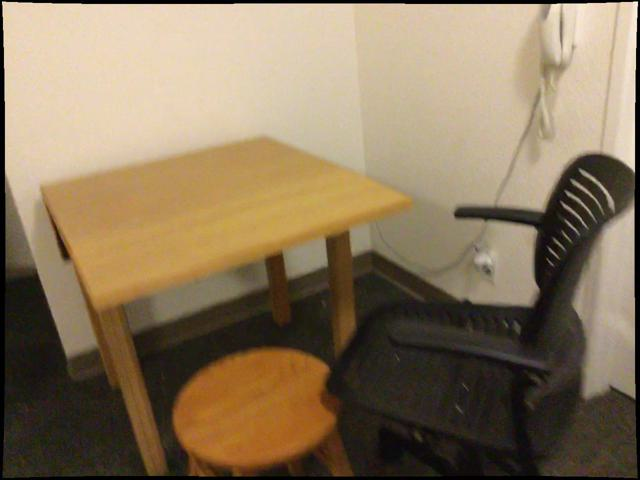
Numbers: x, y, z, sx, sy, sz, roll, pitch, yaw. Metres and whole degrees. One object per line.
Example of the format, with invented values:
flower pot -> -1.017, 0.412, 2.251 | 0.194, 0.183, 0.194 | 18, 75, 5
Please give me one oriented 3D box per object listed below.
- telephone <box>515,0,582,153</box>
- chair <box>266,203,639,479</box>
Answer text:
telephone -> 0.589, -0.460, 1.500 | 0.090, 0.440, 0.110 | -21, 29, -25
chair -> 0.340, 0.390, 1.260 | 0.590, 0.641, 0.660 | -21, 29, -25
